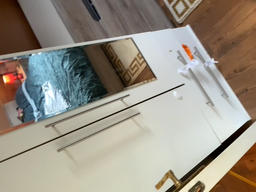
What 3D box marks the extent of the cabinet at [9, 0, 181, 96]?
[{"bbox_3d":[-0.420,-0.890,1.630,1.520,0.840,0.530,60,142,10],"label":"cabinet"}]
